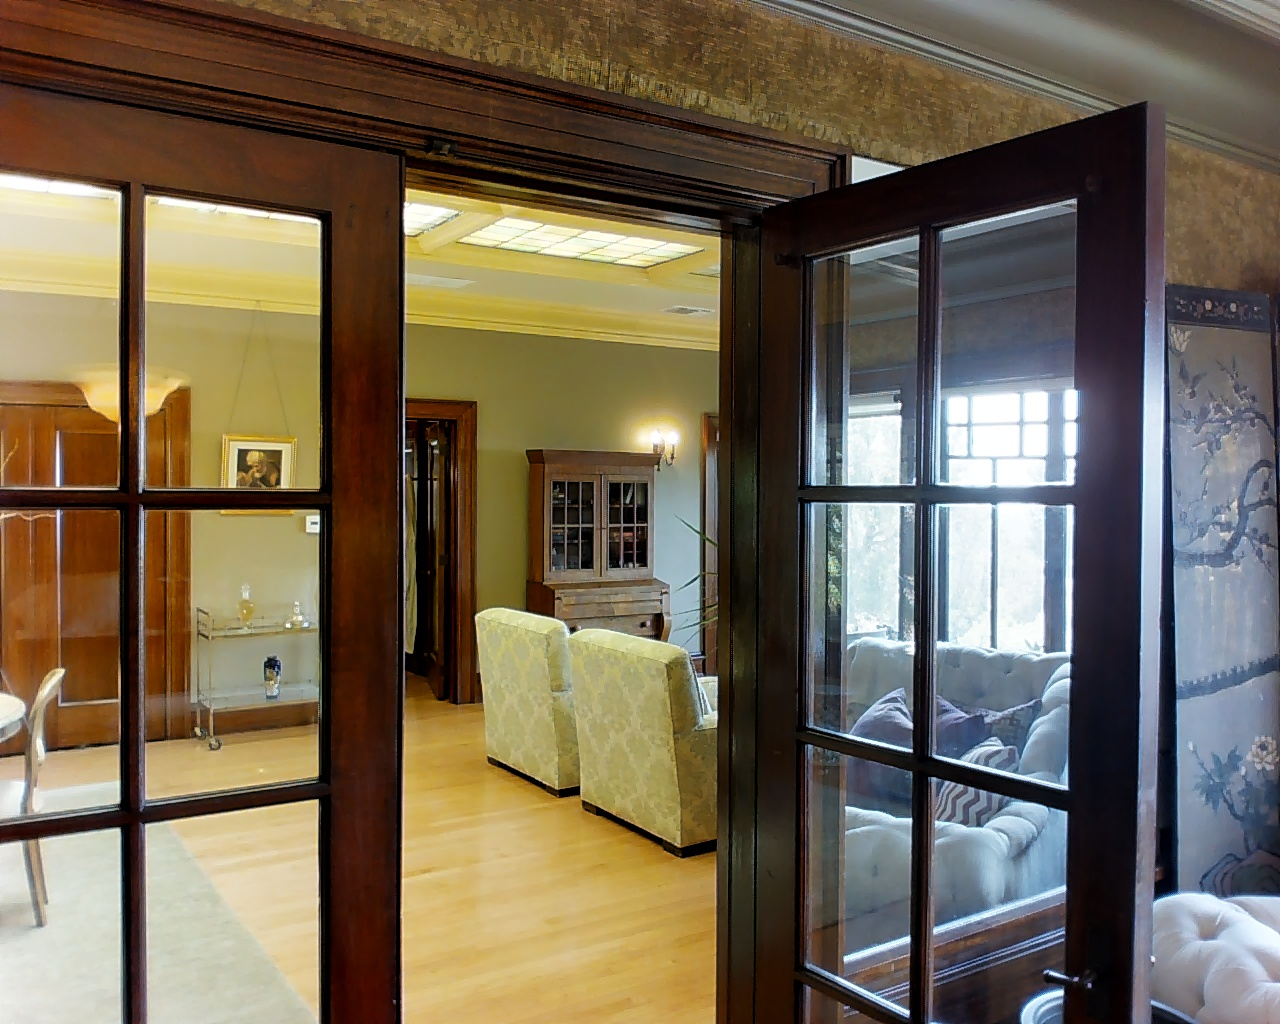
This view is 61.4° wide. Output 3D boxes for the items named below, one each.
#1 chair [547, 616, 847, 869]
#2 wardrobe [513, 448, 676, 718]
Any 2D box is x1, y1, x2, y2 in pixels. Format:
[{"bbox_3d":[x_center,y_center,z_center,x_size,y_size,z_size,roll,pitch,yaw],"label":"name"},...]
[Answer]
[{"bbox_3d":[0.260,1.050,5.310,1.050,0.920,1.060,0,1,-33],"label":"chair"},{"bbox_3d":[-0.350,0.510,8.340,1.090,1.950,0.620,0,1,-34],"label":"wardrobe"}]
